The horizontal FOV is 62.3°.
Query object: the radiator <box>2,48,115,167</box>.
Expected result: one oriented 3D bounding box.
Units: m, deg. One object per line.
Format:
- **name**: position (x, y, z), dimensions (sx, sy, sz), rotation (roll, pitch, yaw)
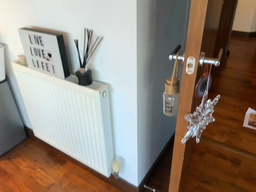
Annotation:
- **radiator**: position (-0.420, 0.050, 1.270), dimensions (0.750, 0.550, 0.080), rotation (18, 37, 29)
